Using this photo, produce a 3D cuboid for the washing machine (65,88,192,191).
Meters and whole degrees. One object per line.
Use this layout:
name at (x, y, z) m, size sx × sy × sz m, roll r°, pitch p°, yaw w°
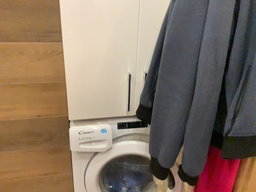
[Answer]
washing machine at (-0.040, 0.430, 1.310) m, size 0.590 × 0.840 × 0.430 m, roll -3°, pitch 22°, yaw -12°
